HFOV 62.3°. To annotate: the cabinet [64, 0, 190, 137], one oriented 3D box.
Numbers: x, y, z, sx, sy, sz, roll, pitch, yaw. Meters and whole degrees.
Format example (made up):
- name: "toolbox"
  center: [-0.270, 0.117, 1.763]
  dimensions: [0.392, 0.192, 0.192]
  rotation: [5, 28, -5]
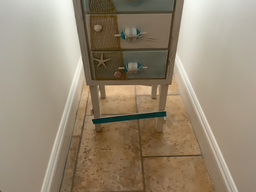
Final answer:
- name: "cabinet"
  center: [0.000, -0.270, 1.000]
  dimensions: [0.430, 1.000, 0.350]
  rotation: [-1, 40, 0]
